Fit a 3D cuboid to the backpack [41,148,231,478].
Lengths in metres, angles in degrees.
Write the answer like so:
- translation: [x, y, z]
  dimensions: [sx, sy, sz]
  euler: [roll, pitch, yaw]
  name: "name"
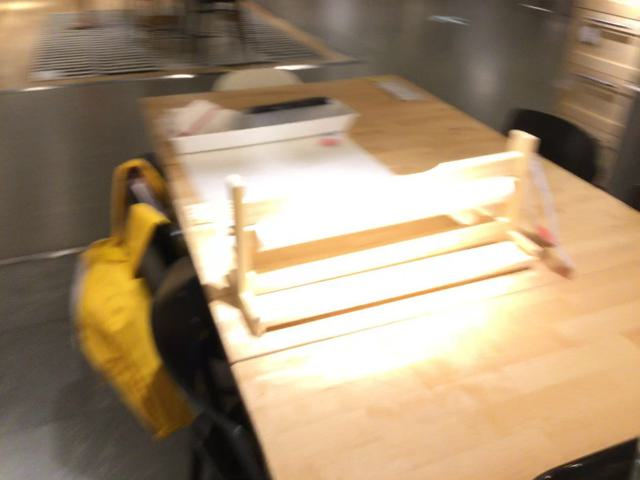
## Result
- translation: [-0.400, 0.150, 1.290]
  dimensions: [0.270, 0.580, 0.370]
  euler: [-11, 32, -18]
  name: "backpack"
